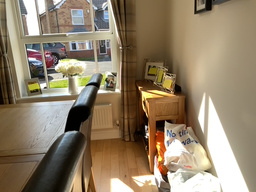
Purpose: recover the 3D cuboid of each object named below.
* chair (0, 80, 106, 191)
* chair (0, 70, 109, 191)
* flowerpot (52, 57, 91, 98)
[{"bbox_3d":[-0.440,0.490,1.080,0.610,1.030,0.450,-4,15,-4],"label":"chair"},{"bbox_3d":[-0.480,0.370,1.510,0.610,1.020,0.430,-4,15,-4],"label":"chair"},{"bbox_3d":[-0.710,-0.250,2.670,0.300,0.440,0.340,-17,20,-41],"label":"flowerpot"}]
